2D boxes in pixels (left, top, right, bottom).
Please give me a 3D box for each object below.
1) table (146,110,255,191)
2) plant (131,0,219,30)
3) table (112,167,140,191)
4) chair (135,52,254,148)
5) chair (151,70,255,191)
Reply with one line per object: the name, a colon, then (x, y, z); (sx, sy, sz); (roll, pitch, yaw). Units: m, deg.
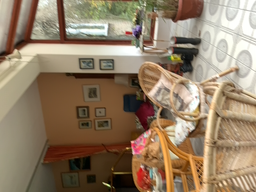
table: (0.590, 0.640, 1.720); (0.750, 0.710, 0.740); (-97, 9, -57)
plant: (0.540, -1.220, 2.600); (0.620, 0.910, 0.630); (-98, 10, -59)
table: (-0.080, 2.350, 5.680); (0.540, 0.710, 0.610); (-99, 11, -62)
chair: (0.520, 0.080, 1.990); (0.610, 0.820, 0.720); (104, 166, -68)
chair: (0.600, 0.220, 1.040); (0.770, 0.820, 0.600); (-167, 78, -85)
